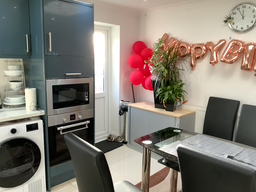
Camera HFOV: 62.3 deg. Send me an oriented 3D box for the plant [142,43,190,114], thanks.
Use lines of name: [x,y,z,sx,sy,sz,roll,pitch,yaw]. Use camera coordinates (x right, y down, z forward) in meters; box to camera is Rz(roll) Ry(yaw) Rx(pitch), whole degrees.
plant: [0.560,-0.280,3.190,0.410,0.950,0.520,-8,13,-43]

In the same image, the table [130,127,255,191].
table: [0.690,0.820,1.720,1.250,0.740,0.630,10,13,43]
